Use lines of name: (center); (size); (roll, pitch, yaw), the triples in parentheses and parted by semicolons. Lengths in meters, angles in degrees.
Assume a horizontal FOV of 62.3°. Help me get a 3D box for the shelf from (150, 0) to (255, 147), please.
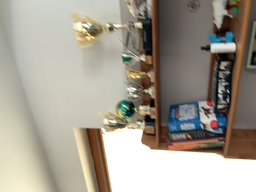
shelf: (0.680, -0.170, 1.040); (0.140, 1.110, 0.970); (-70, -23, -59)
